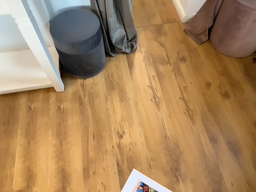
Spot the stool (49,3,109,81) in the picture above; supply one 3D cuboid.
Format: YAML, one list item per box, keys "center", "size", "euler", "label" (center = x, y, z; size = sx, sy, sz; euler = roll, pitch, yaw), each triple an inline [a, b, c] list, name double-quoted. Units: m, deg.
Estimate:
- center: [-0.320, -0.360, 1.450]
  size: [0.320, 0.350, 0.330]
  euler: [-7, 59, -5]
  label: "stool"

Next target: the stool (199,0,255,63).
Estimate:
- center: [0.840, -0.560, 1.550]
  size: [0.390, 0.460, 0.390]
  euler: [-7, 59, -5]
  label: "stool"
